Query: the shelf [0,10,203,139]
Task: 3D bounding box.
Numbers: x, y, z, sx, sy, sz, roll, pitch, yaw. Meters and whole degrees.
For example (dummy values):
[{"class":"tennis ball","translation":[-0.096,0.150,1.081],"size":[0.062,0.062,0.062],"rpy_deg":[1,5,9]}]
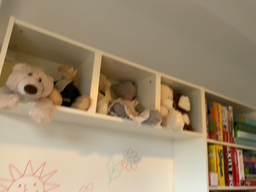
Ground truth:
[{"class":"shelf","translation":[-0.070,-0.010,1.220],"size":[1.180,0.360,0.290],"rpy_deg":[15,-21,-32]}]
